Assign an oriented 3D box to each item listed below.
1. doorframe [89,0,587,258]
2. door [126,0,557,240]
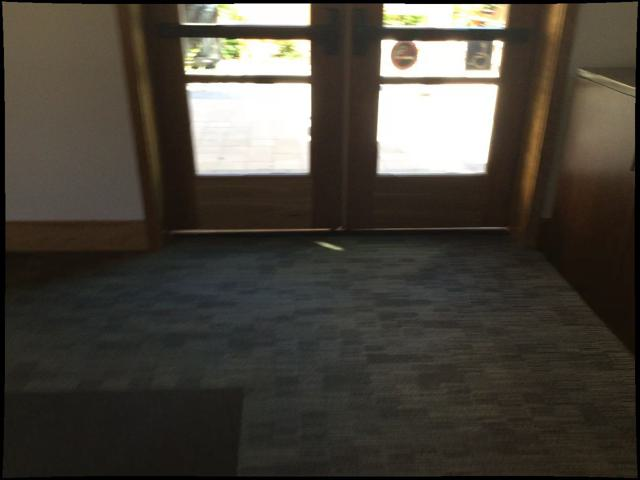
[{"bbox_3d":[0.080,-0.811,2.600,1.968,1.731,0.460,-1,29,-6],"label":"doorframe"},{"bbox_3d":[0.100,-0.941,2.650,1.818,1.911,0.340,-1,29,-6],"label":"door"}]
